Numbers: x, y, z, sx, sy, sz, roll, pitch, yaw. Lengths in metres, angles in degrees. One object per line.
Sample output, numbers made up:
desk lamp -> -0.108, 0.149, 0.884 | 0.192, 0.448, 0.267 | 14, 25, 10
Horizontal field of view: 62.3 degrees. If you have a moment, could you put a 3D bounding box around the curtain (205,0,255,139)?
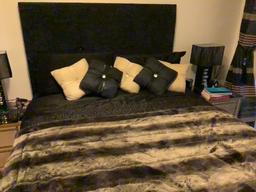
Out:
curtain -> 1.150, -0.710, 2.100 | 0.180, 2.410, 0.390 | -5, 24, -14

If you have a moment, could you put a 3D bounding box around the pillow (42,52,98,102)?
pillow -> -0.440, -0.140, 1.680 | 0.360, 0.300, 0.090 | -32, 69, -13

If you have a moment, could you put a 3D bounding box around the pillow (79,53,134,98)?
pillow -> -0.170, -0.150, 1.720 | 0.320, 0.300, 0.080 | -24, 46, 21

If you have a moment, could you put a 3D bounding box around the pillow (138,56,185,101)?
pillow -> 0.280, -0.150, 1.800 | 0.300, 0.240, 0.100 | -40, 11, -3
